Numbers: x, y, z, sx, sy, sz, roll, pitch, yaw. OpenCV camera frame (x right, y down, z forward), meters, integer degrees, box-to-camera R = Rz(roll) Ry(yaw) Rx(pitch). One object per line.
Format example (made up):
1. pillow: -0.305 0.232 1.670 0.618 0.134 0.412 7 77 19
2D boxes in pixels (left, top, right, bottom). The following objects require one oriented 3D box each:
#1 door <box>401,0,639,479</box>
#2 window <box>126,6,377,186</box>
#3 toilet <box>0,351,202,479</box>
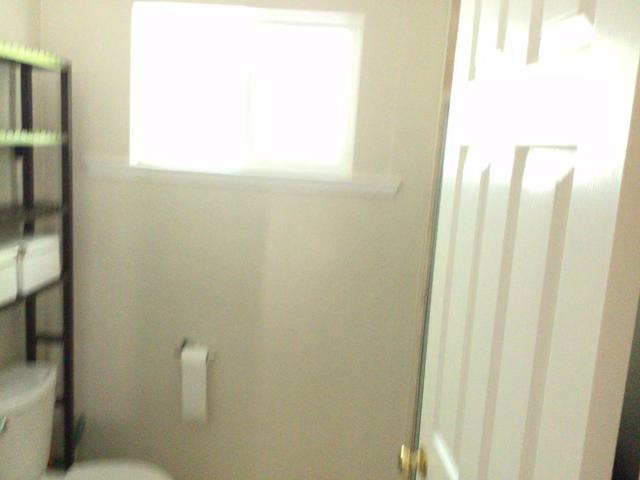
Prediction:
1. door: 0.250 0.580 1.040 0.090 1.770 0.740 4 8 -1
2. window: -0.270 -0.560 2.320 0.930 0.610 0.220 4 8 1
3. toilet: -0.850 0.850 2.020 0.730 0.740 0.480 4 8 1
